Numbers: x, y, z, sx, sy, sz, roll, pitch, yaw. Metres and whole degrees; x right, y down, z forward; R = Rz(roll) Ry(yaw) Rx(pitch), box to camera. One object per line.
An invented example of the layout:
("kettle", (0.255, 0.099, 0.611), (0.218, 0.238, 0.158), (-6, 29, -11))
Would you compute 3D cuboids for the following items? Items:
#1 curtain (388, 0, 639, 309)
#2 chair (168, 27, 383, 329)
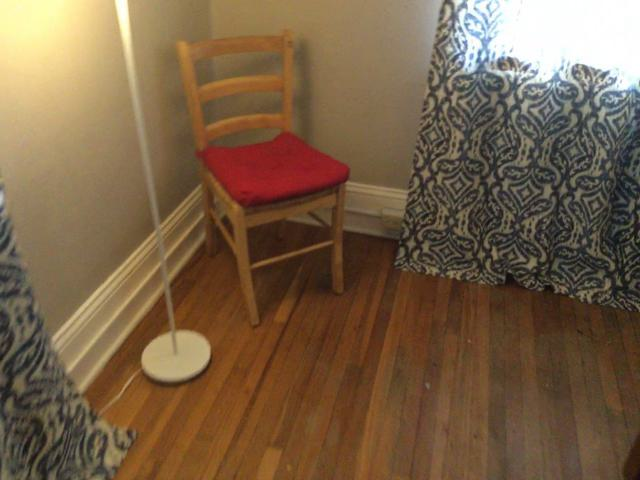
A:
("curtain", (1.080, -0.750, 1.740), (1.560, 2.140, 0.250), (10, 32, 14))
("chair", (-0.180, -0.260, 2.150), (0.510, 0.870, 0.620), (-14, 34, -24))
